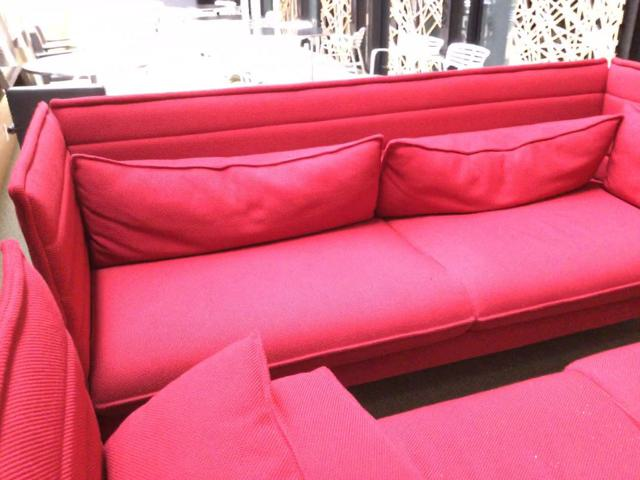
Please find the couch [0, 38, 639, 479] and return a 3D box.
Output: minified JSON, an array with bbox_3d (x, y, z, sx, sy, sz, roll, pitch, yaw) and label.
[{"bbox_3d":[0.370,-0.110,2.020,2.450,0.880,0.930,-10,25,-15],"label":"couch"}]
